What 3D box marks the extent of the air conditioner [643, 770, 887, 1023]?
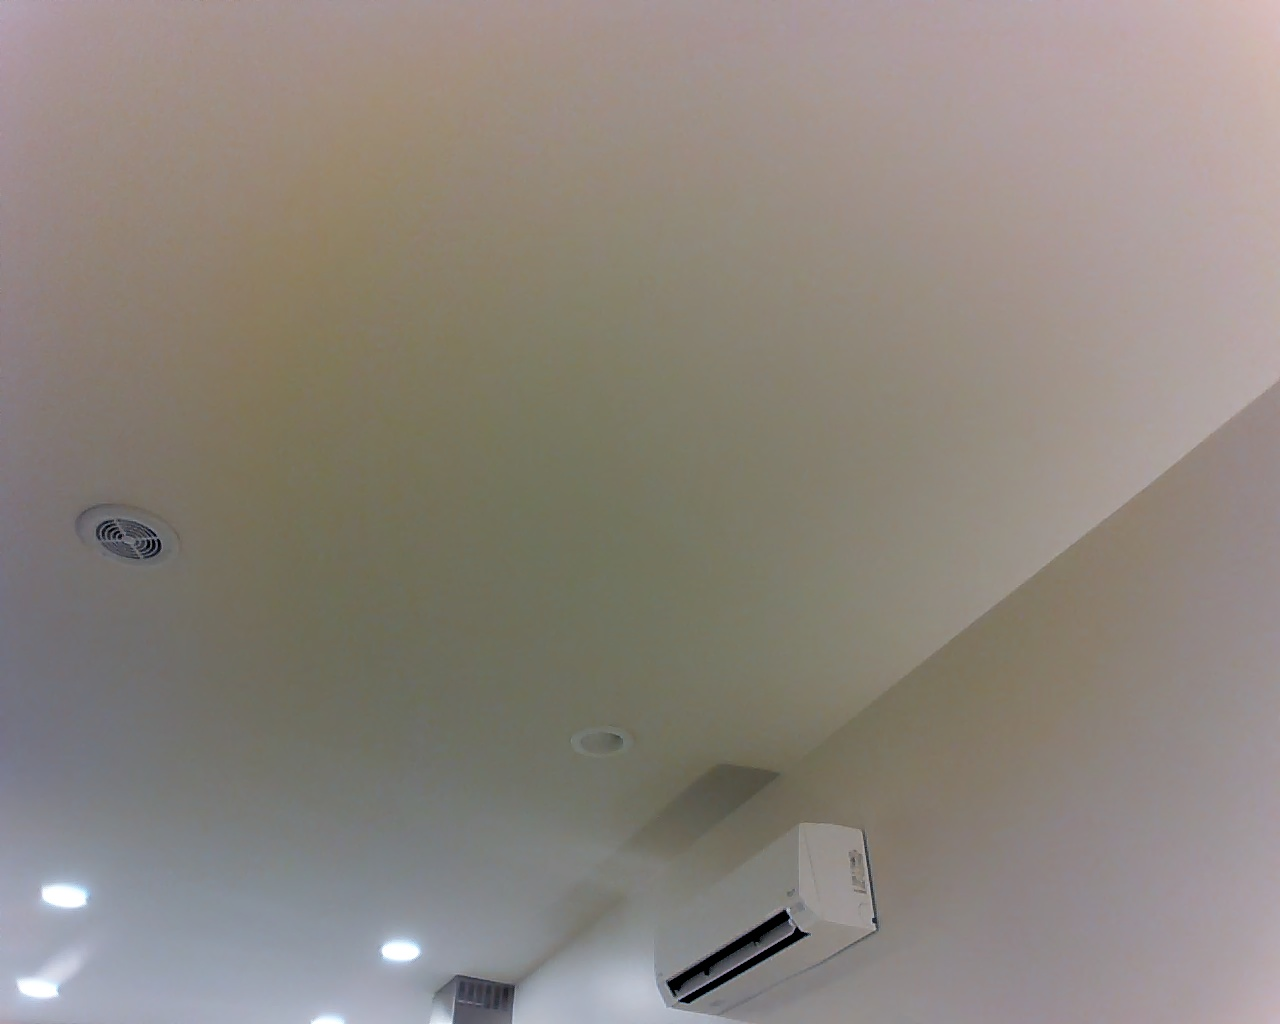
[{"bbox_3d":[0.310,1.140,3.060,0.230,0.410,0.900,18,-44,-19],"label":"air conditioner"}]
